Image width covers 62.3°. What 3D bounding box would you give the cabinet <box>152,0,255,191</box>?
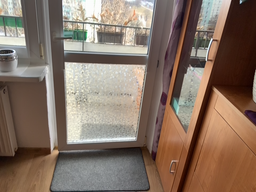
[{"bbox_3d":[0.620,-0.050,1.350,0.560,1.800,0.500,3,27,-8],"label":"cabinet"}]
